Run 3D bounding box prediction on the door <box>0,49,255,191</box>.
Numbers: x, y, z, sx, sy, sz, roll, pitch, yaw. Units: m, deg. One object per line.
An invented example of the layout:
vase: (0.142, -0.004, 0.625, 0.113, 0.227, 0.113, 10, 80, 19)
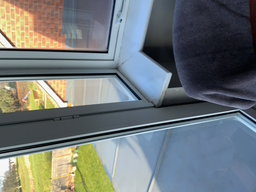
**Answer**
door: (0.100, 0.520, 0.330, 2.630, 2.050, 0.130, 51, 135, 44)
